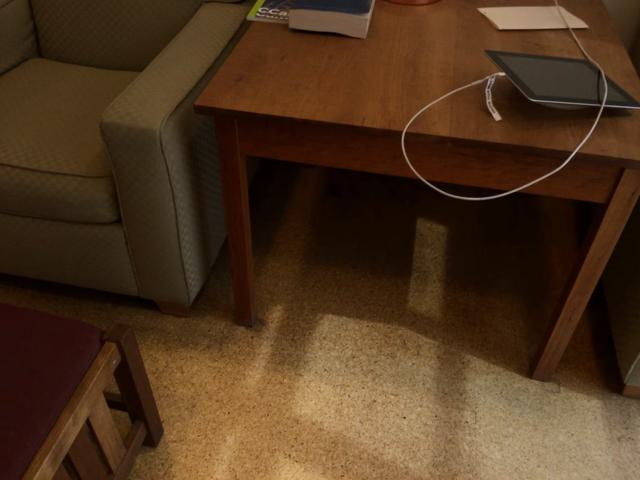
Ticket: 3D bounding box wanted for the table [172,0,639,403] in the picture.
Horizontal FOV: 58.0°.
[{"bbox_3d":[0.230,-0.220,1.460,0.850,0.700,0.830,9,40,6],"label":"table"}]
